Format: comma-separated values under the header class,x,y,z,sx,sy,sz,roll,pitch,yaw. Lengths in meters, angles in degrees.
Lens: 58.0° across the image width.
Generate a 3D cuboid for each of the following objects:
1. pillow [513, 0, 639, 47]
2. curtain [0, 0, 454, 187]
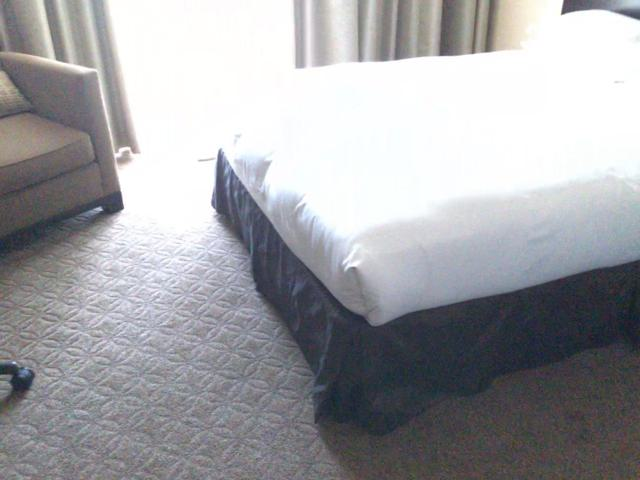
class,x,y,z,sx,sy,sz,roll,pitch,yaw
pillow,1.270,-1.010,2.620,0.440,0.110,0.640,-11,32,-18
curtain,-0.760,-1.470,3.100,3.160,1.980,0.540,-11,32,-19
